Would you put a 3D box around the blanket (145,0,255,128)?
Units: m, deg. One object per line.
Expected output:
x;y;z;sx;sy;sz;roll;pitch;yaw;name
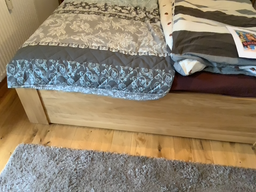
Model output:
0.610;-0.670;1.750;0.780;0.400;2.000;6;43;4;blanket
